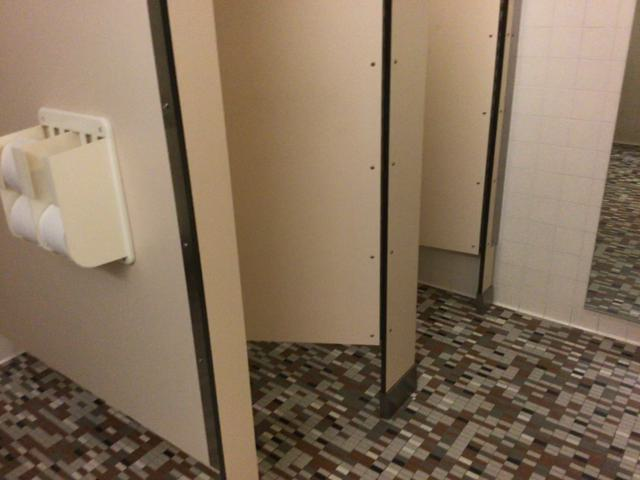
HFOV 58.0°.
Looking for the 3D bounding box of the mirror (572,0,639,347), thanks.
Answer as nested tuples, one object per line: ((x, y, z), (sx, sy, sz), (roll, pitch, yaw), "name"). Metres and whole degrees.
((1.290, -0.220, 1.960), (0.660, 1.330, 0.160), (12, 27, 35), "mirror")
